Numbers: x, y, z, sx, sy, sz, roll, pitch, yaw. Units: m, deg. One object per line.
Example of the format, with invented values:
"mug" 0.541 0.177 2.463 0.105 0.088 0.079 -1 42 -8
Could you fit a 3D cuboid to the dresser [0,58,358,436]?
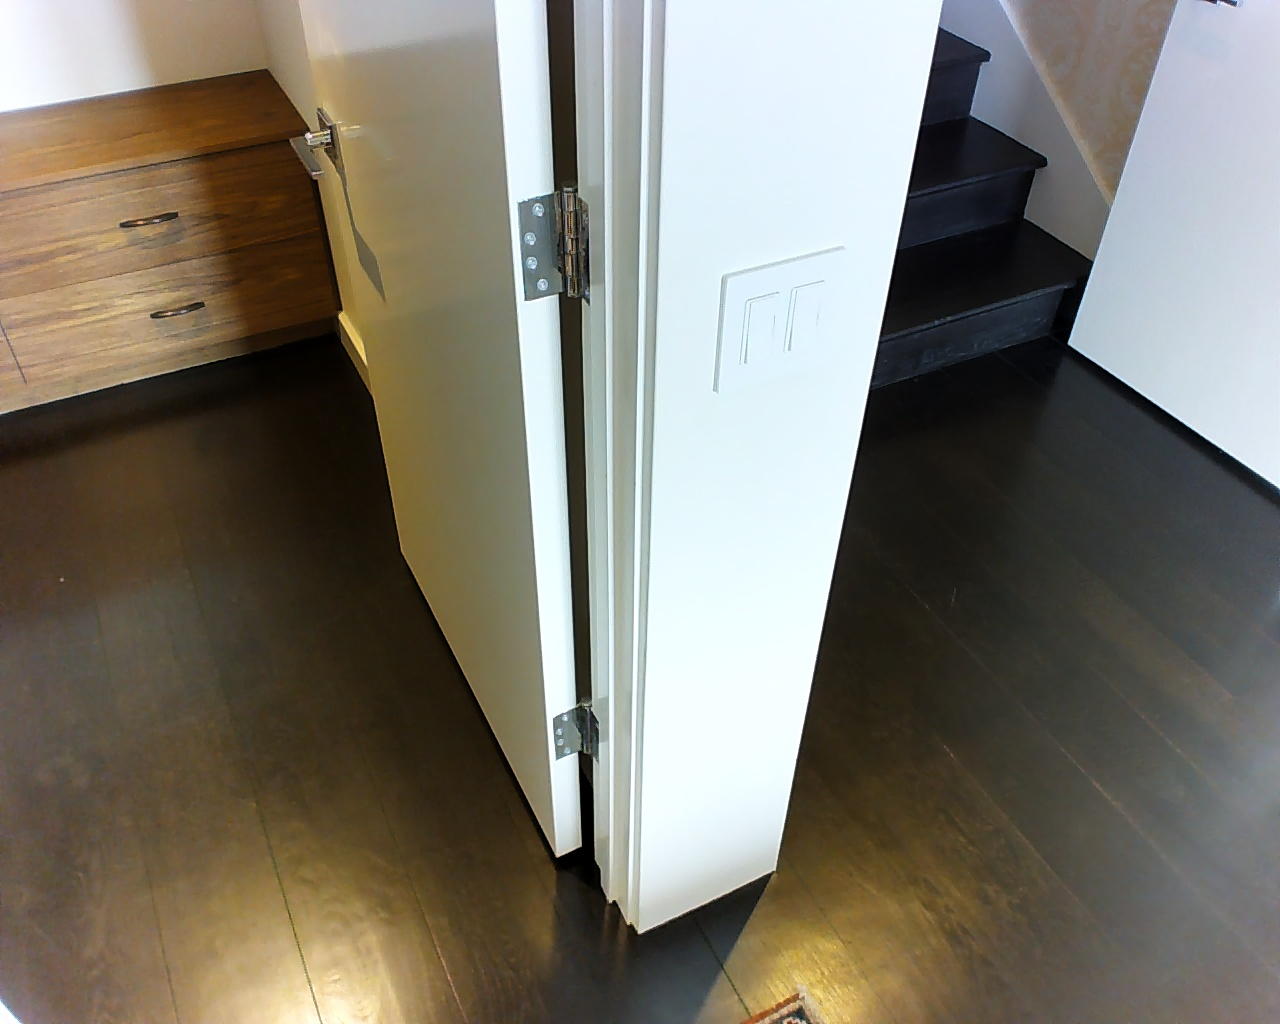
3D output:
"dresser" -1.460 -0.540 2.410 1.470 0.580 0.420 -19 46 -20
